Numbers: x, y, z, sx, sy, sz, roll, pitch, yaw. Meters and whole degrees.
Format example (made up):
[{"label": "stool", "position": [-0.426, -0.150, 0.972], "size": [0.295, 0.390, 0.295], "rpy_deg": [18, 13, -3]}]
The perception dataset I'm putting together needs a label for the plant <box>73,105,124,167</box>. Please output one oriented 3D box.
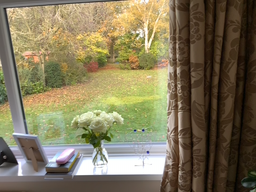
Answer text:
[{"label": "plant", "position": [-0.160, 0.230, 1.250], "size": [0.260, 0.300, 0.180], "rpy_deg": [-2, 15, -1]}]
